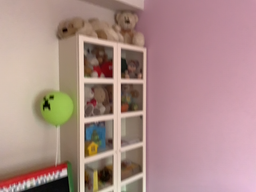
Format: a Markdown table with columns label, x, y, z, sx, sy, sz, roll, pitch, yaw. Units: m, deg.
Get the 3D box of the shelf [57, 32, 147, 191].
| label | x | y | z | sx | sy | sz | roll | pitch | yaw |
| --- | --- | --- | --- | --- | --- | --- | --- | --- | --- |
| shelf | -0.210 | 0.520 | 2.020 | 0.320 | 2.030 | 0.800 | 4 | 5 | 43 |
